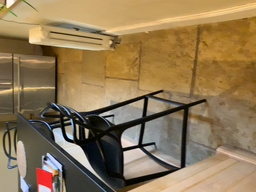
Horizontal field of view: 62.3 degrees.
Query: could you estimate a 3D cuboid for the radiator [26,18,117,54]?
[{"bbox_3d":[-0.560,-0.570,2.130,0.480,0.740,0.220,13,102,49],"label":"radiator"}]
